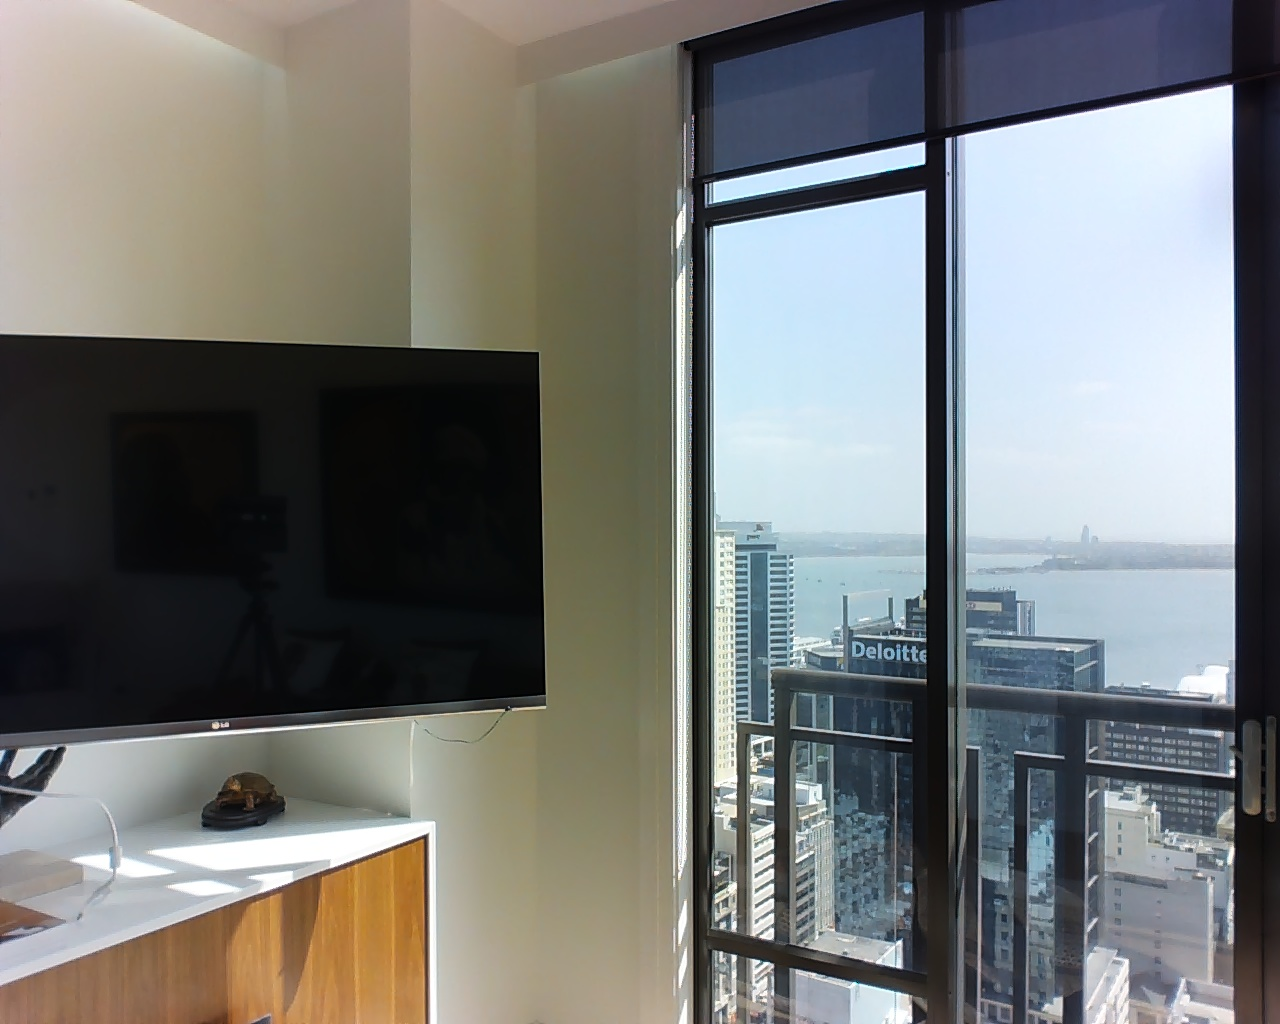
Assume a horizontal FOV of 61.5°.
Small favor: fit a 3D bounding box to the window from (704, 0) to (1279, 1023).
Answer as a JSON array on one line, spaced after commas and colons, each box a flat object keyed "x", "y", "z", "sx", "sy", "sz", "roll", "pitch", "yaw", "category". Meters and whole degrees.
[{"x": 1.210, "y": 0.120, "z": 1.970, "sx": 2.420, "sy": 2.511, "sz": 0.120, "roll": 0, "pitch": 1, "yaw": 32, "category": "window"}]
